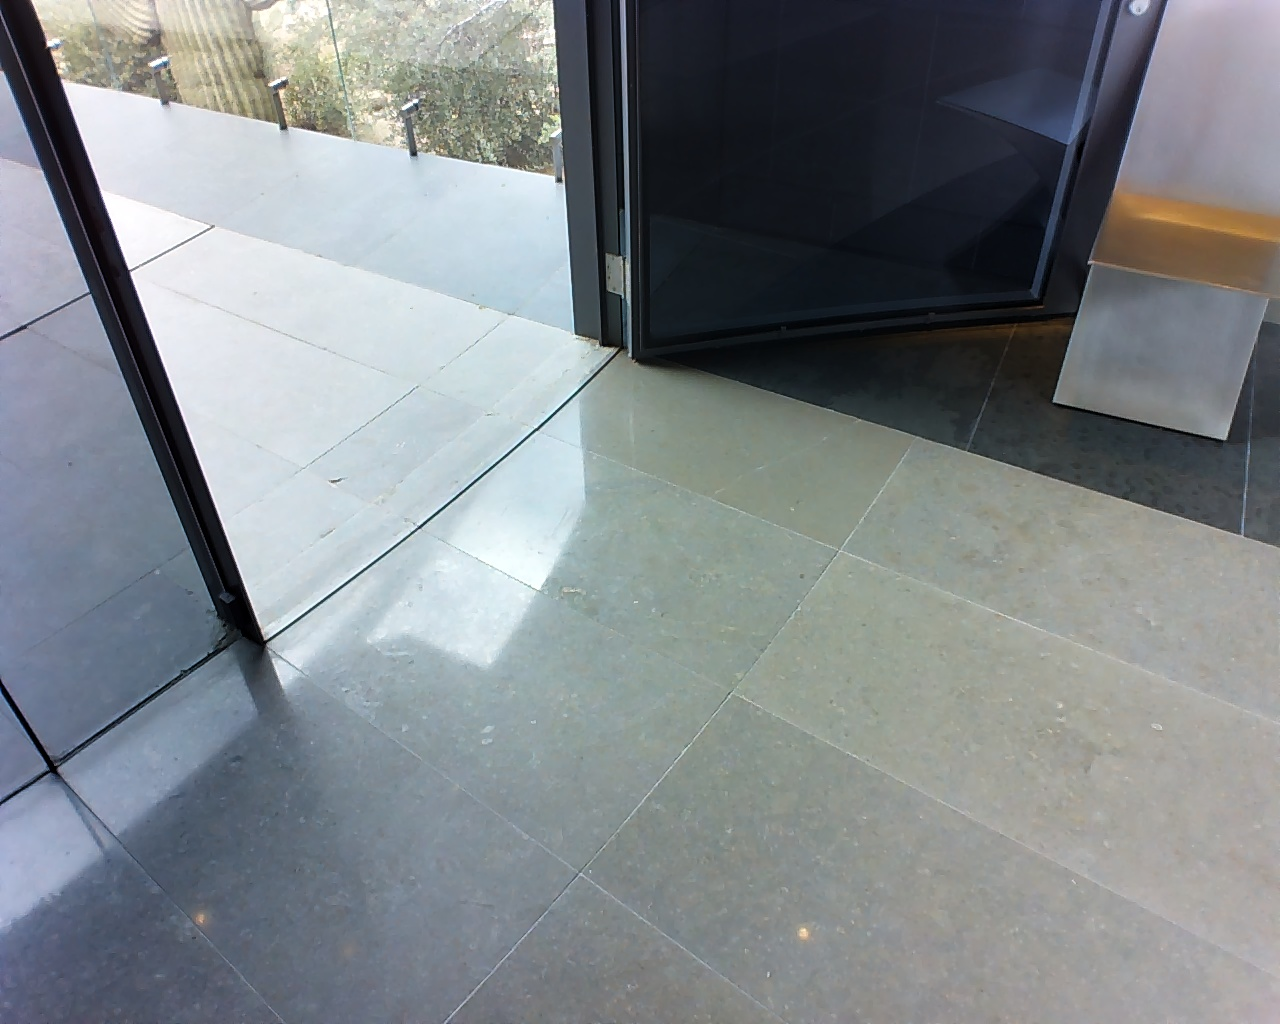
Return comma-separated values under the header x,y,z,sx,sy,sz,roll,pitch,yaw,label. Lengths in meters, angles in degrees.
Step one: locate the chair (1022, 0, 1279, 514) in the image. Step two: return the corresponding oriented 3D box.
x,y,z,sx,sy,sz,roll,pitch,yaw,label
1.300,-0.700,2.390,0.530,1.090,0.750,15,44,20,chair
